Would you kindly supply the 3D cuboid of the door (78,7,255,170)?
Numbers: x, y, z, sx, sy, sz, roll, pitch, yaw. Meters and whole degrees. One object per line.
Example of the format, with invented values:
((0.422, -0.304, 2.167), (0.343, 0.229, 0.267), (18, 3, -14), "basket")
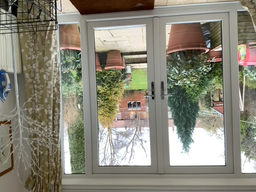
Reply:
((0.530, -0.050, 2.800), (2.330, 2.050, 0.070), (-2, -179, 5), "door")
